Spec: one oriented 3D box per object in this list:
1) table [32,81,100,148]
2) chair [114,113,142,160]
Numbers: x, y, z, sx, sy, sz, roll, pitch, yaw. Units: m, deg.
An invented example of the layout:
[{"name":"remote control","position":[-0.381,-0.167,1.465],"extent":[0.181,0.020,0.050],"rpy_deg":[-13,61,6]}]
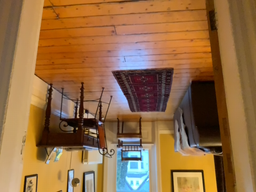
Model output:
[{"name":"table","position":[-0.800,0.350,3.110],"extent":[0.510,0.770,1.190],"rpy_deg":[-1,164,5]},{"name":"chair","position":[0.020,0.990,5.110],"extent":[0.620,1.040,0.660],"rpy_deg":[-1,164,5]}]
